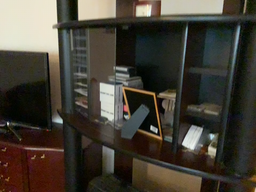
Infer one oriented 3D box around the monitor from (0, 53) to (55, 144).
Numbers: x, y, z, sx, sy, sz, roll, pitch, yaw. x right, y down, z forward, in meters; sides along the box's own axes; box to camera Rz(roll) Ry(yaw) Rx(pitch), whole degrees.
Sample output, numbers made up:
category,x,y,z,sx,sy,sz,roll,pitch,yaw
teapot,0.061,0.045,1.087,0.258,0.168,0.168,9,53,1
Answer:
category,x,y,z,sx,sy,sz,roll,pitch,yaw
monitor,-0.970,-0.020,1.630,0.940,0.610,0.060,8,15,23
